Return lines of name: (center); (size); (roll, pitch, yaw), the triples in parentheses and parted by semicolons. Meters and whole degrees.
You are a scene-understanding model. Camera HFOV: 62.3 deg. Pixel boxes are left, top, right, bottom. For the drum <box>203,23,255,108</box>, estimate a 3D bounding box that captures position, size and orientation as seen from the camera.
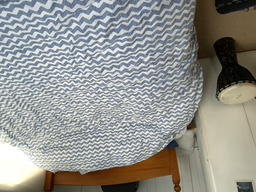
drum: (0.720, -0.210, 1.500); (0.250, 0.490, 0.280); (-8, 150, 11)
